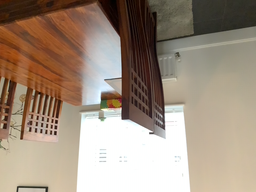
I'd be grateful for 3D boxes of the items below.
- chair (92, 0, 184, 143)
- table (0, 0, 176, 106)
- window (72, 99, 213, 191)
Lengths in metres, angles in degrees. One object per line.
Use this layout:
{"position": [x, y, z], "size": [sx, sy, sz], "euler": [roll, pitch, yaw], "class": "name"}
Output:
{"position": [0.090, -0.240, 1.650], "size": [0.560, 1.160, 0.440], "euler": [-5, 164, 16], "class": "chair"}
{"position": [-0.200, -0.470, 1.530], "size": [0.900, 0.770, 1.340], "euler": [-5, 164, 16], "class": "table"}
{"position": [0.090, 0.790, 2.330], "size": [1.530, 1.380, 0.110], "euler": [-6, 164, 19], "class": "window"}
